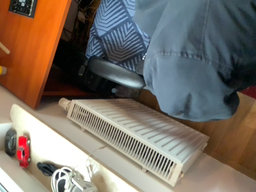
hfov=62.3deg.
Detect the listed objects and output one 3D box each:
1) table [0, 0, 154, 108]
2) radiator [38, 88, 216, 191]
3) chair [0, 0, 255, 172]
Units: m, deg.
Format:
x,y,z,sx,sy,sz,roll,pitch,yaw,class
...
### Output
x,y,z,sx,sy,sz,roll,pitch,yaw,class
-0.350,-0.620,1.400,0.690,0.770,1.170,26,103,26,table
0.040,0.180,1.190,0.780,0.670,0.140,27,103,26,radiator
0.110,-0.340,0.990,0.870,1.060,0.680,24,102,26,chair
